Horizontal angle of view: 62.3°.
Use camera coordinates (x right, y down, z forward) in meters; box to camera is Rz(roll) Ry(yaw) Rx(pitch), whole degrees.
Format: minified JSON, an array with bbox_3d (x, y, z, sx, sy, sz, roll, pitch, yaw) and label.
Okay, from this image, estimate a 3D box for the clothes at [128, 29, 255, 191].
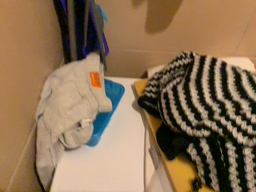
[{"bbox_3d":[0.210,0.040,0.530,0.360,0.170,0.440,8,46,3],"label":"clothes"}]
